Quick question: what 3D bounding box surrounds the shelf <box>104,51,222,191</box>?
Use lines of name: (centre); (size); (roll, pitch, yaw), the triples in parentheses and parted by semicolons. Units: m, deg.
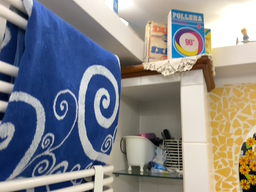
shelf: (0.170, 0.470, 0.870); (0.400, 1.170, 0.390); (-5, -13, 24)
